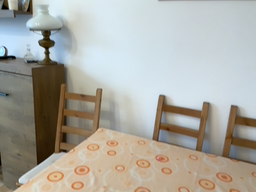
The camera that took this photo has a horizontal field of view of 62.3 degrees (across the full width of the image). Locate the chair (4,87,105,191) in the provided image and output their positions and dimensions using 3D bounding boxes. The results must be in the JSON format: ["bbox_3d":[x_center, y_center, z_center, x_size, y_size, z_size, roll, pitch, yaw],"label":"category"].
[{"bbox_3d":[-0.500,0.480,1.590,0.440,0.970,0.510,9,16,15],"label":"chair"}]
